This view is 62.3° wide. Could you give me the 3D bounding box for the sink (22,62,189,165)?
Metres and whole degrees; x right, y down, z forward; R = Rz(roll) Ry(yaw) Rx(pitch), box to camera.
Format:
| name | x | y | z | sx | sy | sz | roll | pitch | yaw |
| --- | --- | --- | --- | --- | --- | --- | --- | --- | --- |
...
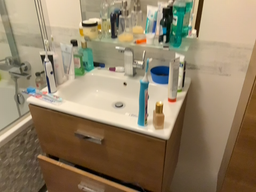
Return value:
| name | x | y | z | sx | sy | sz | roll | pitch | yaw |
| --- | --- | --- | --- | --- | --- | --- | --- | --- | --- |
| sink | -0.070 | 0.020 | 0.970 | 0.600 | 0.130 | 0.440 | 12 | 32 | 19 |
